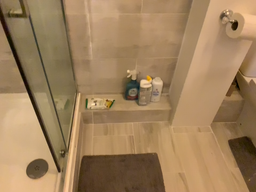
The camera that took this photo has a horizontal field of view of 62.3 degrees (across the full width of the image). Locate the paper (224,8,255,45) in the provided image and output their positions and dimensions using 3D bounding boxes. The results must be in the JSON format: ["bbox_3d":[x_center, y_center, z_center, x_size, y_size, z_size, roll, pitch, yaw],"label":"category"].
[{"bbox_3d":[0.560,-0.330,1.010,0.120,0.130,0.110,-1,45,-5],"label":"paper"}]
